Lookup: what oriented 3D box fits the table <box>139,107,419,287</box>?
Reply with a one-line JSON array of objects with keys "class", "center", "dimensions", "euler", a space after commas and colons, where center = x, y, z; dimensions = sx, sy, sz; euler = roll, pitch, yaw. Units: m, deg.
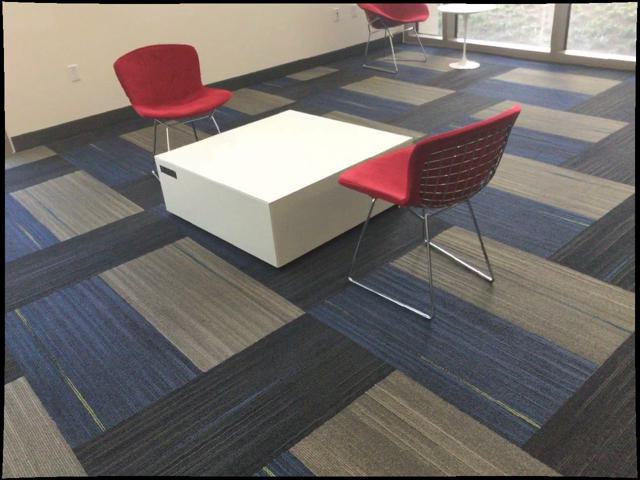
[{"class": "table", "center": [-0.209, -0.301, 2.950], "dimensions": [0.999, 0.341, 0.999], "euler": [-27, 36, -33]}]

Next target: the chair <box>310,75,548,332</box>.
[{"class": "chair", "center": [0.399, -0.180, 2.170], "dimensions": [0.579, 0.671, 0.580], "euler": [-27, 36, -33]}]

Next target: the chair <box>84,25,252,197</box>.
[{"class": "chair", "center": [-0.858, -0.772, 3.320], "dimensions": [0.579, 0.751, 0.619], "euler": [-27, 36, -33]}]
